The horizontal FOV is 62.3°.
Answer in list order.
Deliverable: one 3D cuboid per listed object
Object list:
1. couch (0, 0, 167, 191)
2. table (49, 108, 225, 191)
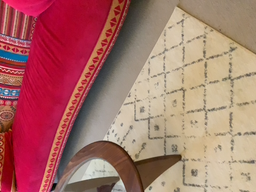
[{"bbox_3d":[-0.790,-0.060,1.670,1.030,0.770,2.470,51,126,33],"label":"couch"},{"bbox_3d":[-0.120,0.700,1.200,0.580,0.440,1.160,51,126,33],"label":"table"}]
